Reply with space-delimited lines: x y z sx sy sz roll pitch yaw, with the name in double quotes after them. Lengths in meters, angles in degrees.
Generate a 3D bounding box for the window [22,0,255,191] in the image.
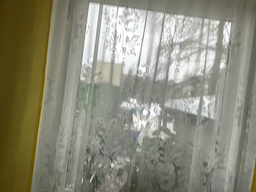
0.200 0.060 1.080 1.250 1.750 0.200 8 0 -2 "window"
